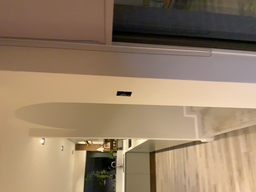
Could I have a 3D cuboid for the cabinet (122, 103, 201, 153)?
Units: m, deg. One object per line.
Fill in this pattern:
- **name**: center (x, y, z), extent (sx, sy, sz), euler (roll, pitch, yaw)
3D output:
- **cabinet**: center (0.470, 0.930, 4.900), extent (3.450, 0.900, 0.590), euler (111, 160, -71)
